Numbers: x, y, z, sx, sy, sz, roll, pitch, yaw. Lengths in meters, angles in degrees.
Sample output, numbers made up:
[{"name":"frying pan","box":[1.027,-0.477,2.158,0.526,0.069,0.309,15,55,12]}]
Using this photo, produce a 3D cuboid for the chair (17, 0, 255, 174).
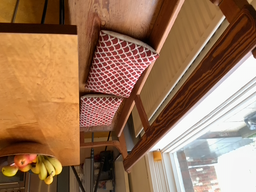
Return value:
[{"name":"chair","box":[-0.130,-0.070,1.440,0.580,0.840,1.980,-2,153,-13]}]

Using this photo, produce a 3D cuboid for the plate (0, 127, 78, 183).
[{"name":"plate","box":[-0.520,0.340,1.200,0.450,0.200,0.350,-1,153,-13]}]
